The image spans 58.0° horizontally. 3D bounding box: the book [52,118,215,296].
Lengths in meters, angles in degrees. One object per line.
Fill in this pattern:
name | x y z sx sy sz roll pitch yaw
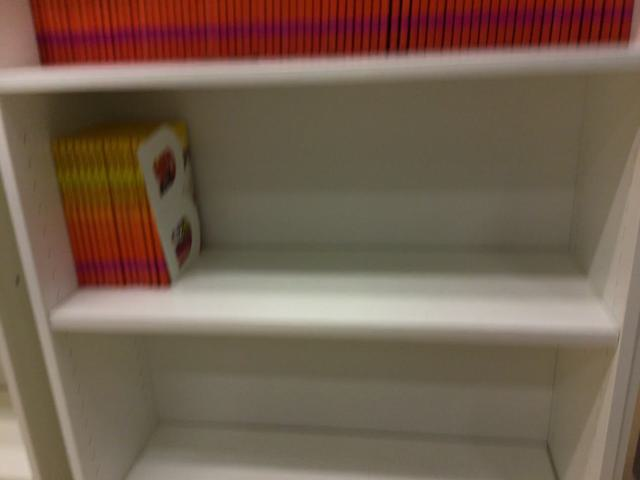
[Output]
book | -0.280 -0.060 0.920 0.150 0.230 0.190 1 23 8
